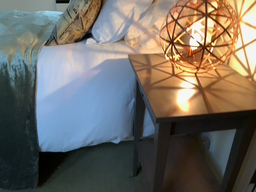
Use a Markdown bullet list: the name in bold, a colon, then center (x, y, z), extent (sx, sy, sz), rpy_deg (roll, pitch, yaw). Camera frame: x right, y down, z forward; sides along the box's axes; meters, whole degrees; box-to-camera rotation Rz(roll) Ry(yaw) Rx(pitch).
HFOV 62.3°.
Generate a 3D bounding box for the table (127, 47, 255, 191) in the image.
- **table**: center (0.230, 0.210, 0.920), extent (0.410, 0.700, 0.480), rpy_deg (-3, 31, -6)
